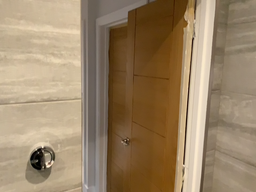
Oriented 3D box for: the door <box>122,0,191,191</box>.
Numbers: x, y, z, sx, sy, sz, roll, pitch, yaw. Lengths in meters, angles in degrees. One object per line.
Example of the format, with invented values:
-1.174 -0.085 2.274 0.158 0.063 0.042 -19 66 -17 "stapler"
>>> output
0.120 0.360 1.410 0.020 1.880 0.600 -4 11 -29 "door"
